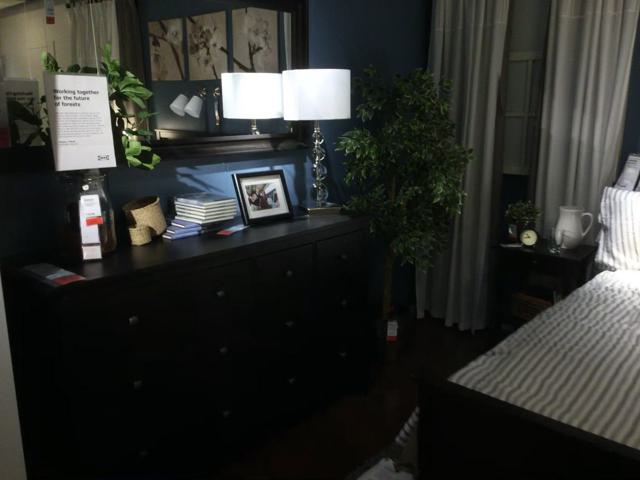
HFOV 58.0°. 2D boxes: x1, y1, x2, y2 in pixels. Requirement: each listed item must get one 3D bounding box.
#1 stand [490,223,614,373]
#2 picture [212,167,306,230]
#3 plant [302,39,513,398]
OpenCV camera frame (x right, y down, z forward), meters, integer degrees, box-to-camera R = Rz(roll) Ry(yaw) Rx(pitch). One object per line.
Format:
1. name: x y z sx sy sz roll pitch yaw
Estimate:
1. stand: 1.250 0.280 3.100 0.470 0.660 0.420 5 15 45
2. picture: -0.270 -0.190 2.590 0.250 0.230 0.300 5 15 45
3. plant: 0.510 -0.150 3.140 0.680 1.660 0.780 5 15 45
